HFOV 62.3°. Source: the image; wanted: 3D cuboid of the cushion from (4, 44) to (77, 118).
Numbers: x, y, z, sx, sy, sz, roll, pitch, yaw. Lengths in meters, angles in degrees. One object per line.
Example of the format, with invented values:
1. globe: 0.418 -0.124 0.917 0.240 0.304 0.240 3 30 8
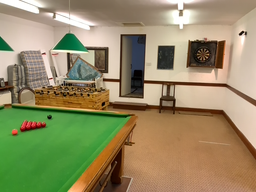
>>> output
1. cushion: -2.260 -0.500 5.920 0.750 1.690 2.040 5 10 15
